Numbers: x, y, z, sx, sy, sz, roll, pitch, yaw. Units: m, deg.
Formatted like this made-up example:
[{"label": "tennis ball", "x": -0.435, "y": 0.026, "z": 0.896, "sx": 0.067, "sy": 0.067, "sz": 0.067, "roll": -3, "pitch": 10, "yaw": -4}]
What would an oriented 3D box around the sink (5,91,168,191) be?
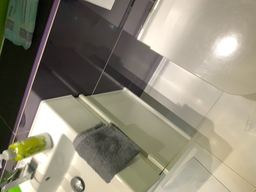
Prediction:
[{"label": "sink", "x": -0.220, "y": 0.370, "z": 0.860, "sx": 0.480, "sy": 0.200, "sz": 0.600, "roll": 37, "pitch": 113, "yaw": 21}]
